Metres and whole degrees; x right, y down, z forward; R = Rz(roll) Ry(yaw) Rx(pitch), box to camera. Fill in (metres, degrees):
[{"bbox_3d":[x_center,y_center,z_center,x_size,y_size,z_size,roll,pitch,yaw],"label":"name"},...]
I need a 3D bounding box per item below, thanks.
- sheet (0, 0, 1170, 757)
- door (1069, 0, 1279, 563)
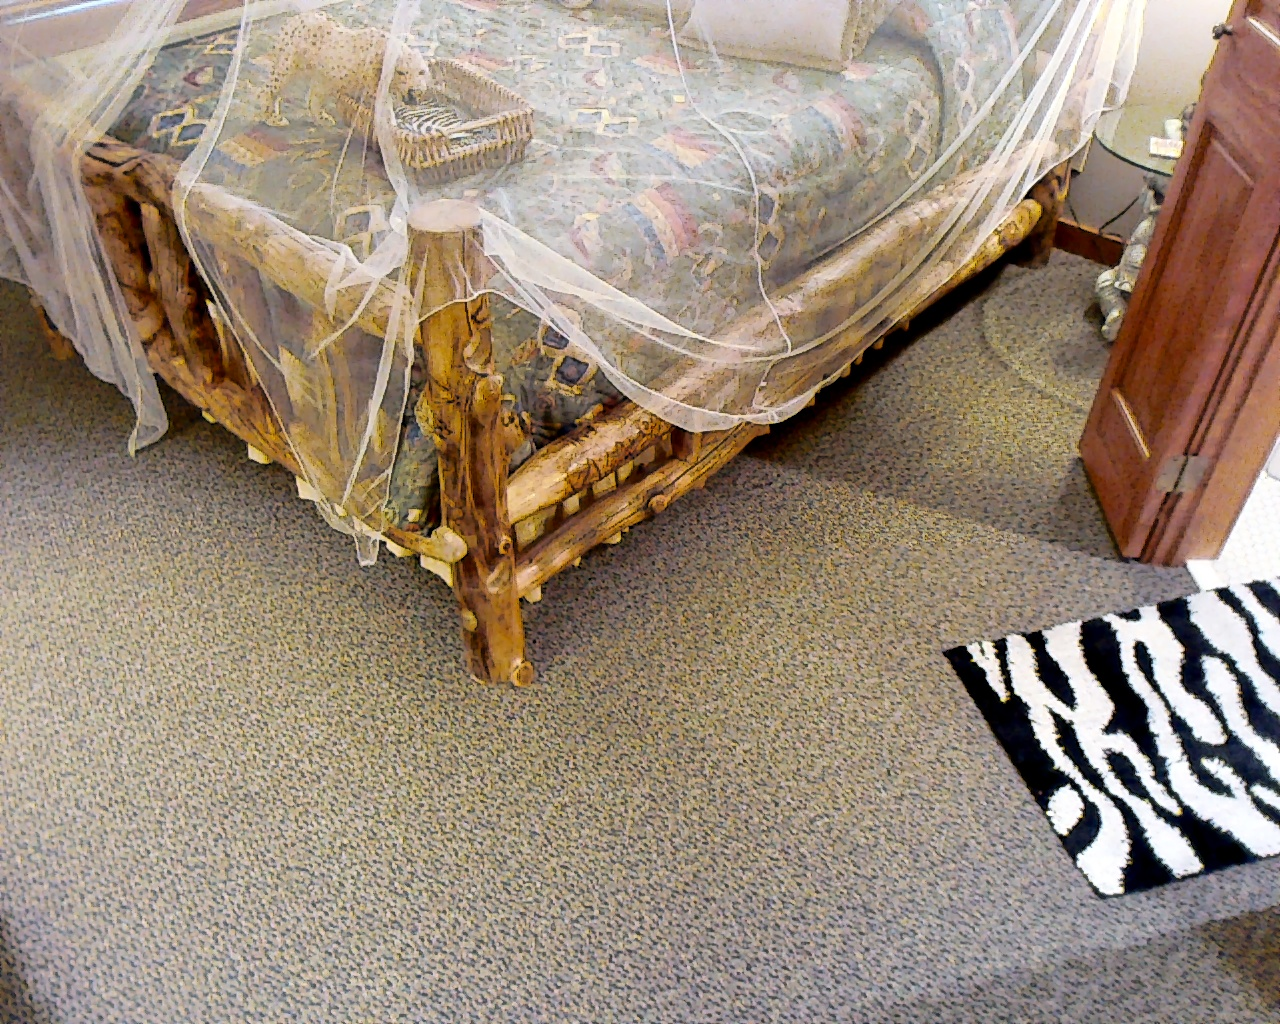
[{"bbox_3d":[-0.200,-1.490,2.380,2.020,2.320,2.510,31,49,31],"label":"sheet"},{"bbox_3d":[1.050,-0.820,1.750,0.040,2.080,0.410,3,40,2],"label":"door"}]
